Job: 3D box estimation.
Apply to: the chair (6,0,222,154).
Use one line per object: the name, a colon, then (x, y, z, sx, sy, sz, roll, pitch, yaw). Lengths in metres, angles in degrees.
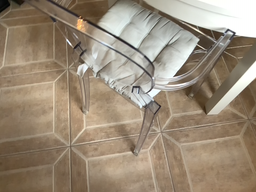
chair: (-0.010, -0.140, 0.900, 0.420, 0.800, 0.460, 36, 70, 15)
